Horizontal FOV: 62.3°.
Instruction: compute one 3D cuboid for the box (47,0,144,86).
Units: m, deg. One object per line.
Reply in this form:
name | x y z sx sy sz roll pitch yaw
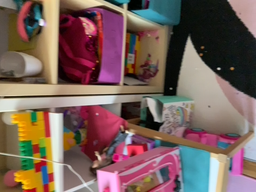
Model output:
box | -0.150 -0.230 1.030 0.290 0.350 0.350 5 95 39
